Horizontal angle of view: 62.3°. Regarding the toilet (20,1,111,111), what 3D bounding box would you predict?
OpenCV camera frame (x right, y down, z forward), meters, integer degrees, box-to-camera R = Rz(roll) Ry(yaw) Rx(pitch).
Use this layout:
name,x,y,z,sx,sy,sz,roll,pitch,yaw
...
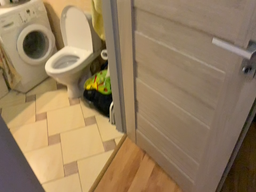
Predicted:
name,x,y,z,sx,sy,sz,roll,pitch,yaw
toilet,-0.540,-0.410,2.130,0.400,0.810,0.660,15,43,20
